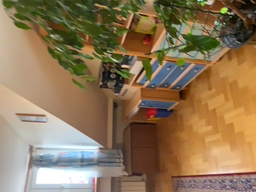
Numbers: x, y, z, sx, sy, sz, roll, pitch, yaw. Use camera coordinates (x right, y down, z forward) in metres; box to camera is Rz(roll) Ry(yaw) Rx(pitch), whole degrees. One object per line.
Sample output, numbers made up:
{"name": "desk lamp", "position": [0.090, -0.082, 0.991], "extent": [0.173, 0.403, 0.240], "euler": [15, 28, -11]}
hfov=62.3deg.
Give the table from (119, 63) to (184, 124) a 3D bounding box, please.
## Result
{"name": "table", "position": [0.330, 0.030, 3.800], "extent": [1.260, 0.720, 0.590], "euler": [126, 146, -63]}
